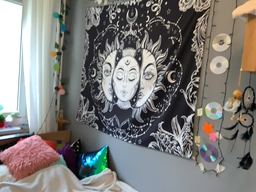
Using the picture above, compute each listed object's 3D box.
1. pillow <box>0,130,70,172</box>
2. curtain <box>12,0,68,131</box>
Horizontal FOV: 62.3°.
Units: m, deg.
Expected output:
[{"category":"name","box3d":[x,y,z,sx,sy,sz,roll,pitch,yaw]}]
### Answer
[{"category":"pillow","box3d":[-0.870,0.480,1.970,0.490,0.160,0.440,9,6,41]},{"category":"curtain","box3d":[-0.970,-0.440,2.330,0.370,1.550,0.370,9,6,42]}]
